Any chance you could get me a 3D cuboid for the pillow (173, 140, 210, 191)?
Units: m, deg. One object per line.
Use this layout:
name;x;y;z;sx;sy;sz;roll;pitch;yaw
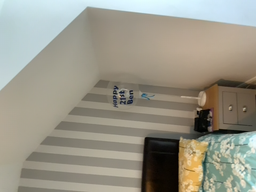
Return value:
pillow;0.570;0.750;1.950;0.390;0.200;0.640;106;170;-73
